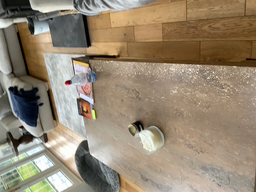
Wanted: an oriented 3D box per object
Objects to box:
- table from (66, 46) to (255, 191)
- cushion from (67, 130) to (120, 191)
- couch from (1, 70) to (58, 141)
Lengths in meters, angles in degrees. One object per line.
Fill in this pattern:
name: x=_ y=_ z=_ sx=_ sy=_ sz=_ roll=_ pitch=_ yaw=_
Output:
table: x=0.180 y=0.140 z=1.500 sx=1.460 sy=0.440 sz=0.910 roll=14 pitch=117 yaw=47
cushion: x=-0.480 y=0.940 z=2.860 sx=0.900 sy=0.170 sz=0.680 roll=17 pitch=119 yaw=46
couch: x=-1.790 y=0.120 z=3.840 sx=0.940 sy=0.470 sz=1.010 roll=17 pitch=119 yaw=46
